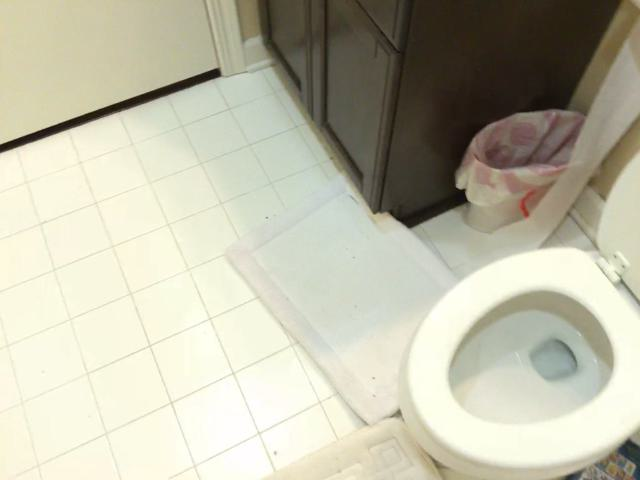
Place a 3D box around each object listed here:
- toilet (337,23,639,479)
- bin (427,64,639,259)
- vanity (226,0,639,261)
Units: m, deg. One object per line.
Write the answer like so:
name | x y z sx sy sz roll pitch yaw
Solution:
toilet | 0.490 0.120 0.990 0.760 0.800 0.490 -23 63 -13
bin | 0.490 -0.190 1.380 0.320 0.210 0.310 -23 63 -13
vanity | 0.190 -0.590 1.320 0.630 0.930 0.750 -23 63 -13
